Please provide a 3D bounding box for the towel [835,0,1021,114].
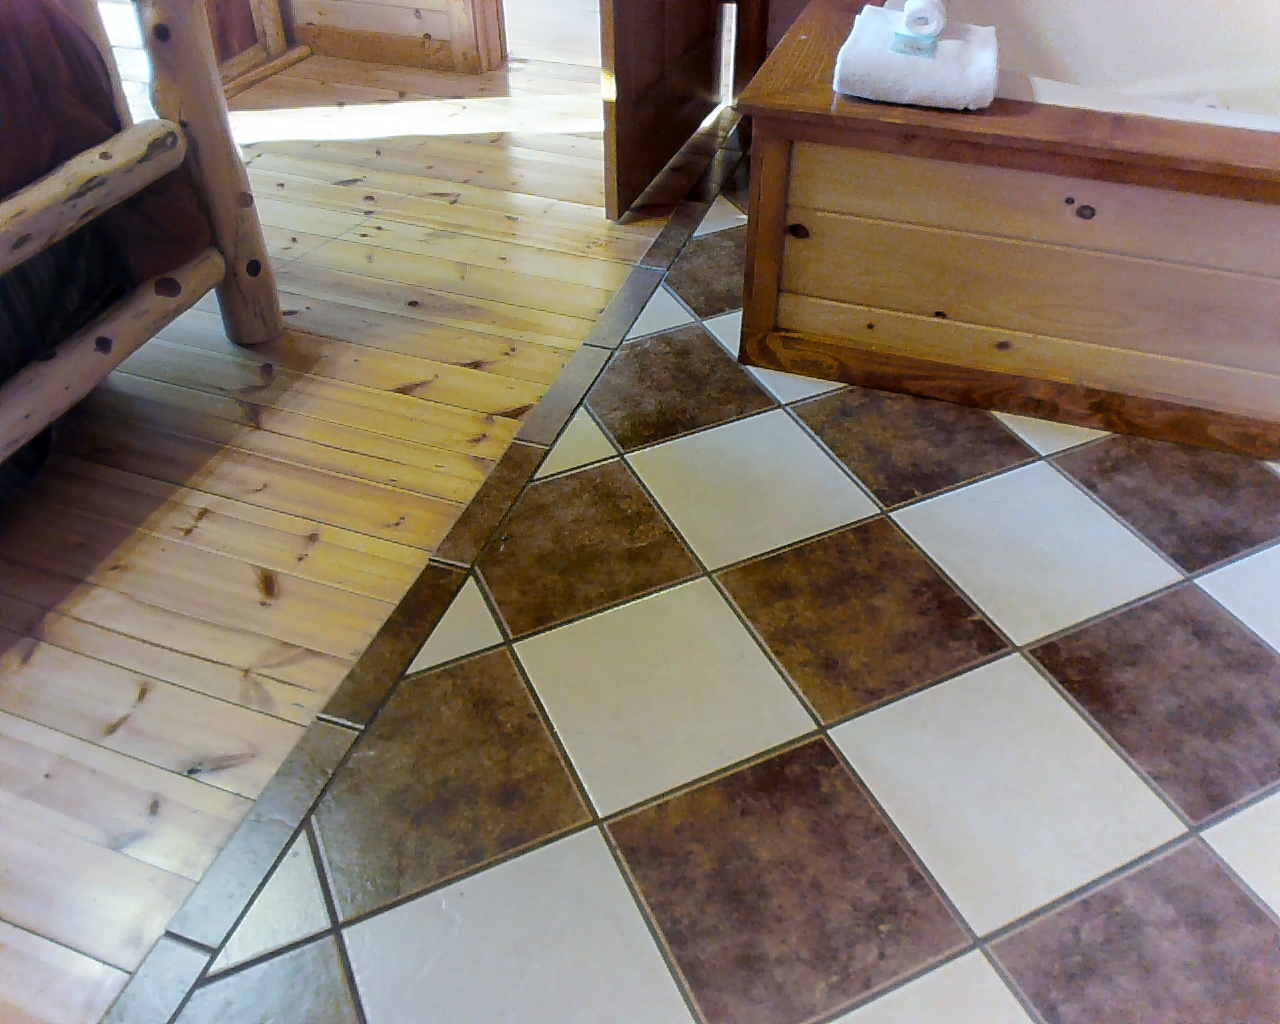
[{"bbox_3d":[0.500,-0.820,1.840,0.270,0.120,0.350,10,42,12],"label":"towel"}]
